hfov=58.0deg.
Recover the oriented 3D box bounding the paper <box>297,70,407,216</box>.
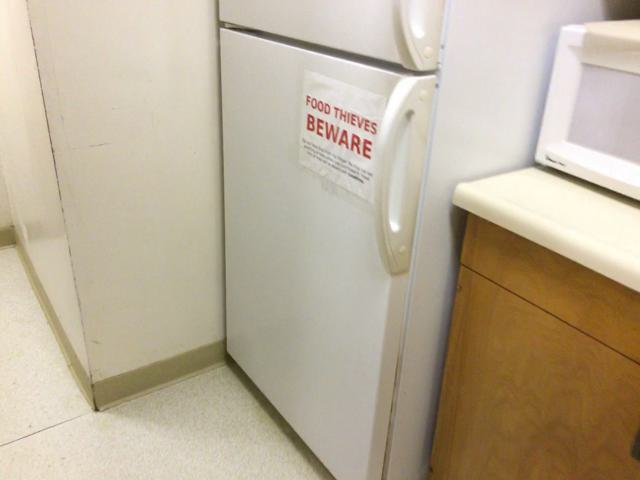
[{"bbox_3d":[0.050,-0.210,1.190,0.020,0.220,0.330,-14,30,-31],"label":"paper"}]

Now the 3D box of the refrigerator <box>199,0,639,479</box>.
[{"bbox_3d":[0.240,-0.250,1.590,0.830,1.690,0.820,-14,30,-31],"label":"refrigerator"}]
